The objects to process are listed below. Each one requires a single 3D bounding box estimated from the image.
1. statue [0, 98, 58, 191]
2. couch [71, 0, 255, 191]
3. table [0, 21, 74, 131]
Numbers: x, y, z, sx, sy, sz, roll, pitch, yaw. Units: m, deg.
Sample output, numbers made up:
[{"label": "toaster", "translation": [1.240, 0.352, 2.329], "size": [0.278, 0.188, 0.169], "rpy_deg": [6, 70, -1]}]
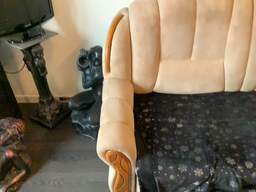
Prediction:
[{"label": "statue", "translation": [-0.910, 0.440, 1.250], "size": [0.430, 0.330, 0.850], "rpy_deg": [18, 41, 22]}, {"label": "couch", "translation": [0.760, -0.020, 1.310], "size": [1.860, 0.990, 1.050], "rpy_deg": [-1, 38, -1]}, {"label": "table", "translation": [-0.700, -0.140, 1.650], "size": [0.310, 0.740, 0.300], "rpy_deg": [22, 43, 26]}]
